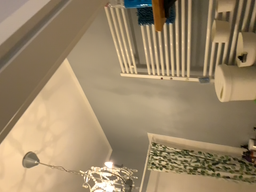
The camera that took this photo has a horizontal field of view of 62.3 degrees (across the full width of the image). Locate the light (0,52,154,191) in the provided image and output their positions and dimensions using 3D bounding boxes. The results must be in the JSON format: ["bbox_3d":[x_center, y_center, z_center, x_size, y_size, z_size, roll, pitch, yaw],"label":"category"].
[{"bbox_3d":[-0.460,0.350,1.480,0.690,0.720,0.920,35,-35,-25],"label":"light"}]
